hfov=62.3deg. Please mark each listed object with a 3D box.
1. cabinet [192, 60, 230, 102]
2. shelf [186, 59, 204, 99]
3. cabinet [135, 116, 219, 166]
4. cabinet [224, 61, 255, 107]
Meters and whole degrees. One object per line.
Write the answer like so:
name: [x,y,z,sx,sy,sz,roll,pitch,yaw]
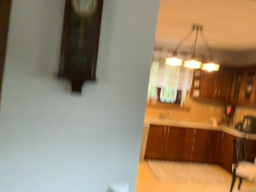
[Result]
cabinet: [1.870,-0.330,4.810,0.610,0.860,0.330,7,4,-12]
shelf: [1.500,-0.380,4.760,0.140,0.860,0.260,7,4,-12]
cabinet: [1.030,0.970,4.610,1.590,0.820,0.590,7,4,-12]
cabinet: [2.440,-0.240,4.420,0.350,0.860,0.690,7,4,-12]
